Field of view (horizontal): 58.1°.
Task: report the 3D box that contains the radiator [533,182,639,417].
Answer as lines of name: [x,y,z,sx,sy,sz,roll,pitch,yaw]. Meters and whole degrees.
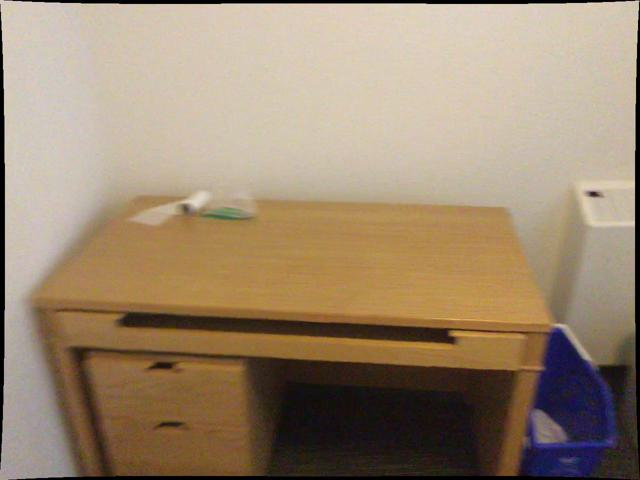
radiator: [1.268,0.180,2.000,0.968,0.781,0.210,-8,25,2]

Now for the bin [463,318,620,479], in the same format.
bin: [0.659,0.531,1.810,0.300,0.370,0.430,-4,25,1]
